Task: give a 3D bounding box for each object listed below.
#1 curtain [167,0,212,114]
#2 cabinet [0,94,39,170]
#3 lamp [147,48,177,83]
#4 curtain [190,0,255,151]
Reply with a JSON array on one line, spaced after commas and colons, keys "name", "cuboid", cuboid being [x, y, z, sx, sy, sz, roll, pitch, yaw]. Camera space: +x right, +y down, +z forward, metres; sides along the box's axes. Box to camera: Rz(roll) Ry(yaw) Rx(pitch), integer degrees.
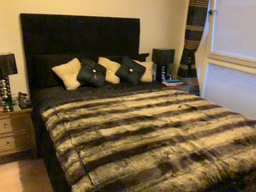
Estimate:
[{"name": "curtain", "cuboid": [0.850, -0.830, 2.930, 0.180, 2.160, 0.410, -8, 22, -27]}, {"name": "cabinet", "cuboid": [-1.190, 0.330, 2.110, 0.450, 0.530, 0.510, -8, 22, -28]}, {"name": "lamp", "cuboid": [0.470, -0.440, 3.010, 0.330, 0.460, 0.190, -7, 22, -26]}, {"name": "curtain", "cuboid": [1.410, -0.420, 2.340, 0.090, 2.030, 1.550, -8, 22, -27]}]
